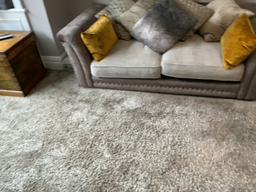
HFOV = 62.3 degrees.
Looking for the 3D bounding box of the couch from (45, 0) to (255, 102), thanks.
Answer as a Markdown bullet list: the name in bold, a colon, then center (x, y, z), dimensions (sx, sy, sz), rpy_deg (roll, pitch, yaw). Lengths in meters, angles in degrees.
- **couch**: center (0.390, -0.630, 2.500), dimensions (2.200, 0.690, 1.090), rpy_deg (4, 40, 10)
